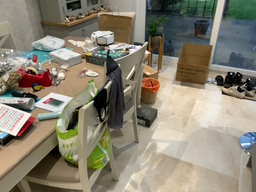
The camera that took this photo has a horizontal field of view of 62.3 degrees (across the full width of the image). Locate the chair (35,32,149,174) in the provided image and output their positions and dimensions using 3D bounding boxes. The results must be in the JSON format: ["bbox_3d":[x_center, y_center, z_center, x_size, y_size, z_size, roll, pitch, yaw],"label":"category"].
[{"bbox_3d":[-0.230,0.030,1.740,0.600,0.900,0.530,16,36,25],"label":"chair"}]

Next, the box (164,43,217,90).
[{"bbox_3d":[0.890,-0.440,2.990,0.540,0.330,0.680,15,36,23],"label":"box"}]

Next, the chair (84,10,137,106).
[{"bbox_3d":[-0.150,-0.450,2.480,0.460,0.920,0.610,3,33,6],"label":"chair"}]
